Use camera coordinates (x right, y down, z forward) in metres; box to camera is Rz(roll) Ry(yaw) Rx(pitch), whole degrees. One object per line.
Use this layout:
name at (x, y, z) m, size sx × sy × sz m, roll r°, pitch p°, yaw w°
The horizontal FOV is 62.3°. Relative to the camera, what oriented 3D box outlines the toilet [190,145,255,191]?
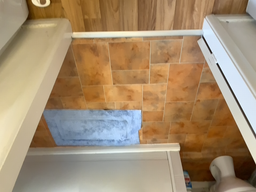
toilet at (0.930, 0.990, 1.910) m, size 0.460 × 0.850 × 0.650 m, roll -1°, pitch 134°, yaw 1°
